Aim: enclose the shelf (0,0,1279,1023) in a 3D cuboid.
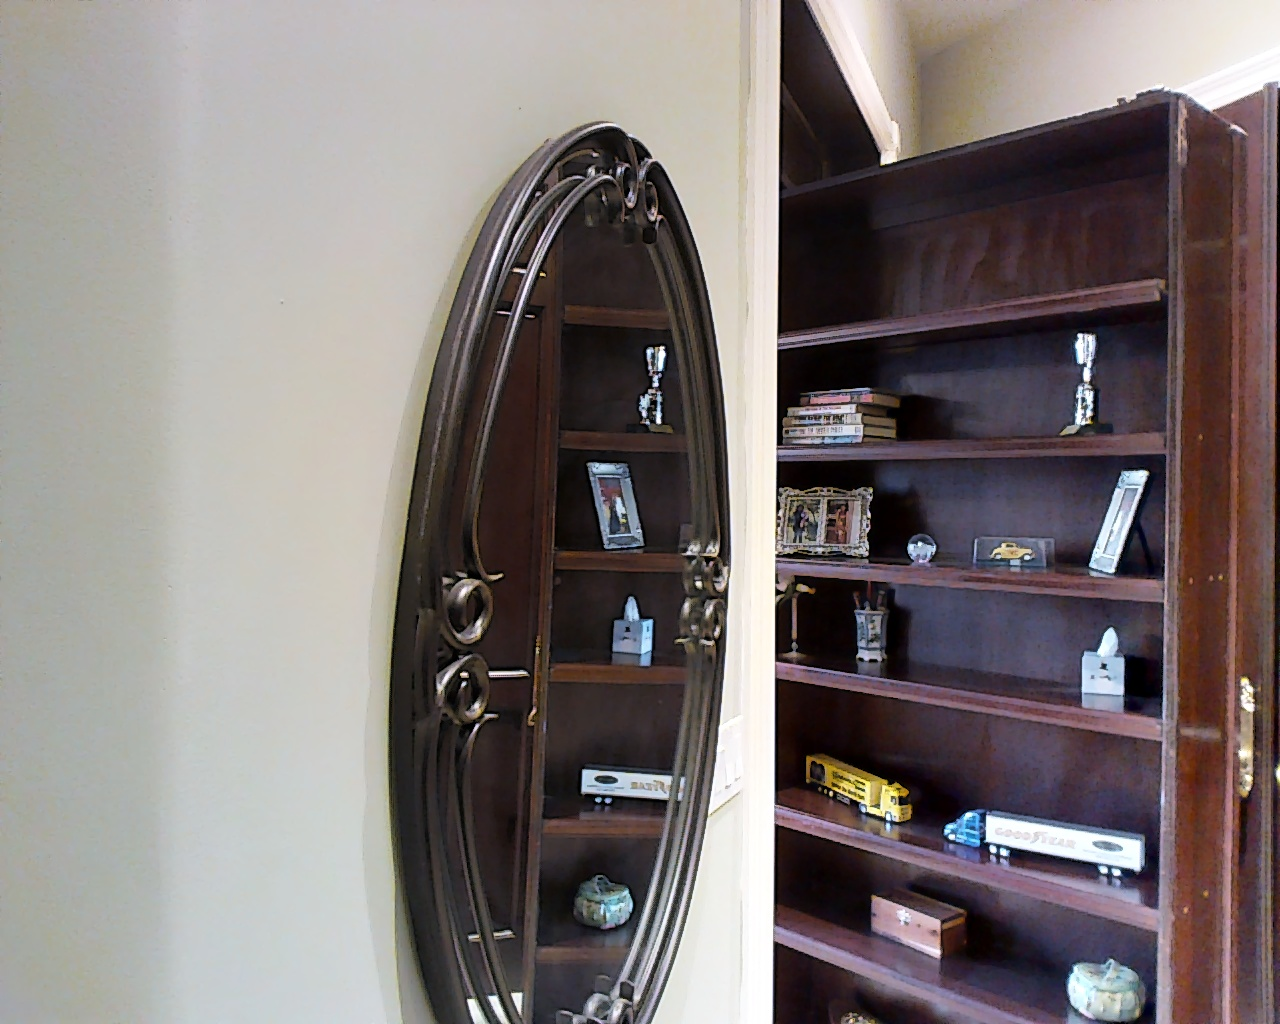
[{"bbox_3d":[-1.500,0.080,1.700,5.871,2.650,2.600,1,0,-24],"label":"shelf"}]
